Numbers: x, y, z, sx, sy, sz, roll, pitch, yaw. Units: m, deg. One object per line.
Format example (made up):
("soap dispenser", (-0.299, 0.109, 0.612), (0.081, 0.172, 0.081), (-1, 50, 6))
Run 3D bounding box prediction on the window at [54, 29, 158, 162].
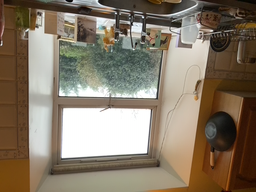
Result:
("window", (-0.210, 0.030, 2.040), (0.940, 1.190, 0.070), (1, -169, -18))
